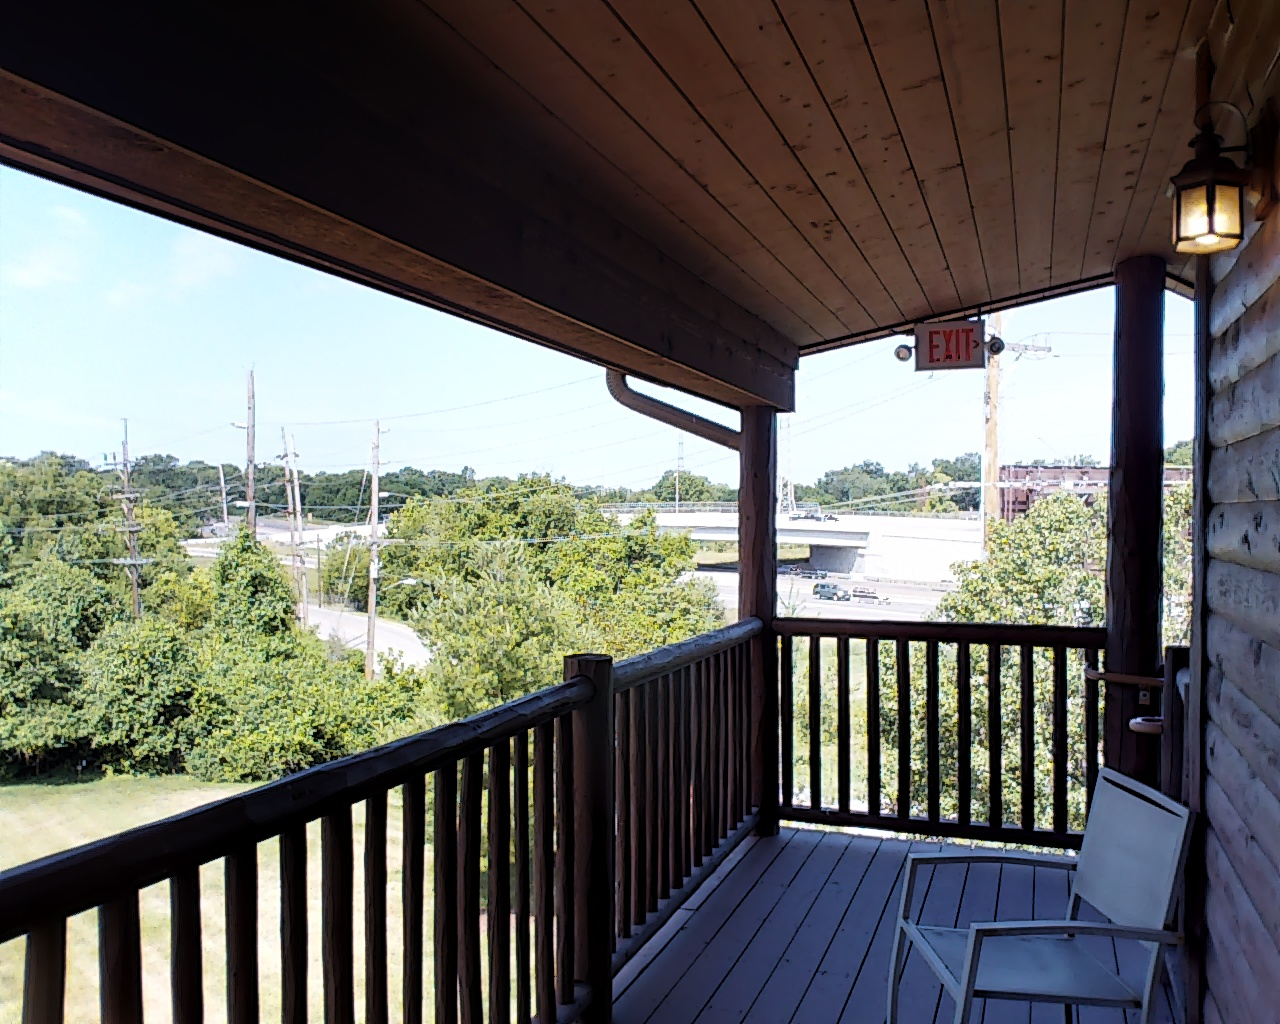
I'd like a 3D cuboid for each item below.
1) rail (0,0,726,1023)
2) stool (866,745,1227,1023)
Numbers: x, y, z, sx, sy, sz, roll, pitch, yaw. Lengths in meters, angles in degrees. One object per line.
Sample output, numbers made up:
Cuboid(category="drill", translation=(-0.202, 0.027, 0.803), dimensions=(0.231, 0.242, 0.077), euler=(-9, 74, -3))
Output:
Cuboid(category="rail", translation=(-0.940, 0.380, 1.180), dimensions=(0.300, 2.341, 6.400), euler=(0, -1, 21))
Cuboid(category="stool", translation=(1.000, 1.120, 2.780), dimensions=(0.660, 0.890, 0.650), euler=(0, -1, -4))
